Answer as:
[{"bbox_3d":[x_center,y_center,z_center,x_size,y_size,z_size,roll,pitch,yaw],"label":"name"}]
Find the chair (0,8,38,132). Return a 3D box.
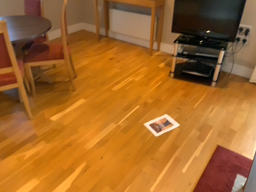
[{"bbox_3d":[-1.230,-0.220,1.960,0.500,0.980,0.520,-14,37,-19],"label":"chair"}]

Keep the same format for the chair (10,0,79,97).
[{"bbox_3d":[-0.880,-0.560,2.450,0.500,1.000,0.510,-5,35,-9],"label":"chair"}]
